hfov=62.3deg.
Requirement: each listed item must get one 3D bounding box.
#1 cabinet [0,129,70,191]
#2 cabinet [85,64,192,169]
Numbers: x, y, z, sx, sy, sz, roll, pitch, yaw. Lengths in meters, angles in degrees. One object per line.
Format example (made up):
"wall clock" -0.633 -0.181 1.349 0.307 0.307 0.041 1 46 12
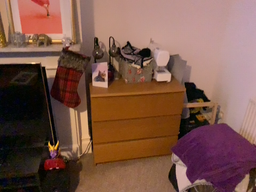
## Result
"cabinet" -1.090 0.580 1.670 1.160 0.400 0.410 -2 28 -9
"cabinet" 0.040 0.170 2.120 0.860 0.800 0.600 -2 28 -9
